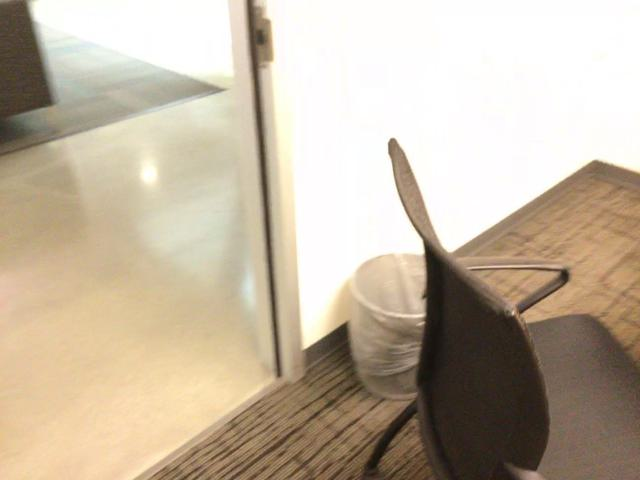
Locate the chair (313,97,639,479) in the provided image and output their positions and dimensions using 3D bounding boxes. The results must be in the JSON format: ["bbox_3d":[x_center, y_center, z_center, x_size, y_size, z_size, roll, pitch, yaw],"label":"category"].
[{"bbox_3d":[0.330,0.320,1.020,0.610,0.920,0.630,-4,34,-1],"label":"chair"}]

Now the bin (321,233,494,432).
[{"bbox_3d":[0.240,0.250,1.670,0.300,0.340,0.360,-25,40,-29],"label":"bin"}]
